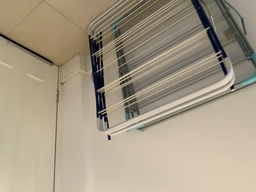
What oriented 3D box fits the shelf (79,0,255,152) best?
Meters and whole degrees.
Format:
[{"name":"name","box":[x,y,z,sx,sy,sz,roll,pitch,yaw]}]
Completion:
[{"name":"shelf","box":[0.100,-0.210,1.070,0.810,0.740,0.190,-28,145,29]}]
